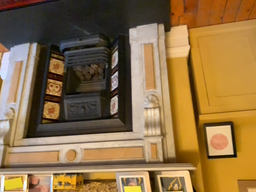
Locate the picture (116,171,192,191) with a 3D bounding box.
[{"bbox_3d":[0.180,0.660,1.450,0.490,0.260,0.170,-5,159,9],"label":"picture"}]

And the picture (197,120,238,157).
[{"bbox_3d":[0.770,0.380,1.860,0.260,0.280,0.180,-5,159,9],"label":"picture"}]
